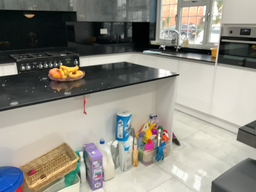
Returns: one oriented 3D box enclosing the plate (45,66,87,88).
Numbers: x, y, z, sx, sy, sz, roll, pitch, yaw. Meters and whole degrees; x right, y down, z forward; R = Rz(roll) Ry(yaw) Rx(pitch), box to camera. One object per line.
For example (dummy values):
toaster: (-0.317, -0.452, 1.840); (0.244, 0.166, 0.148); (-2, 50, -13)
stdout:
plate: (-0.560, -0.180, 1.910); (0.280, 0.120, 0.270); (-12, 22, -33)
